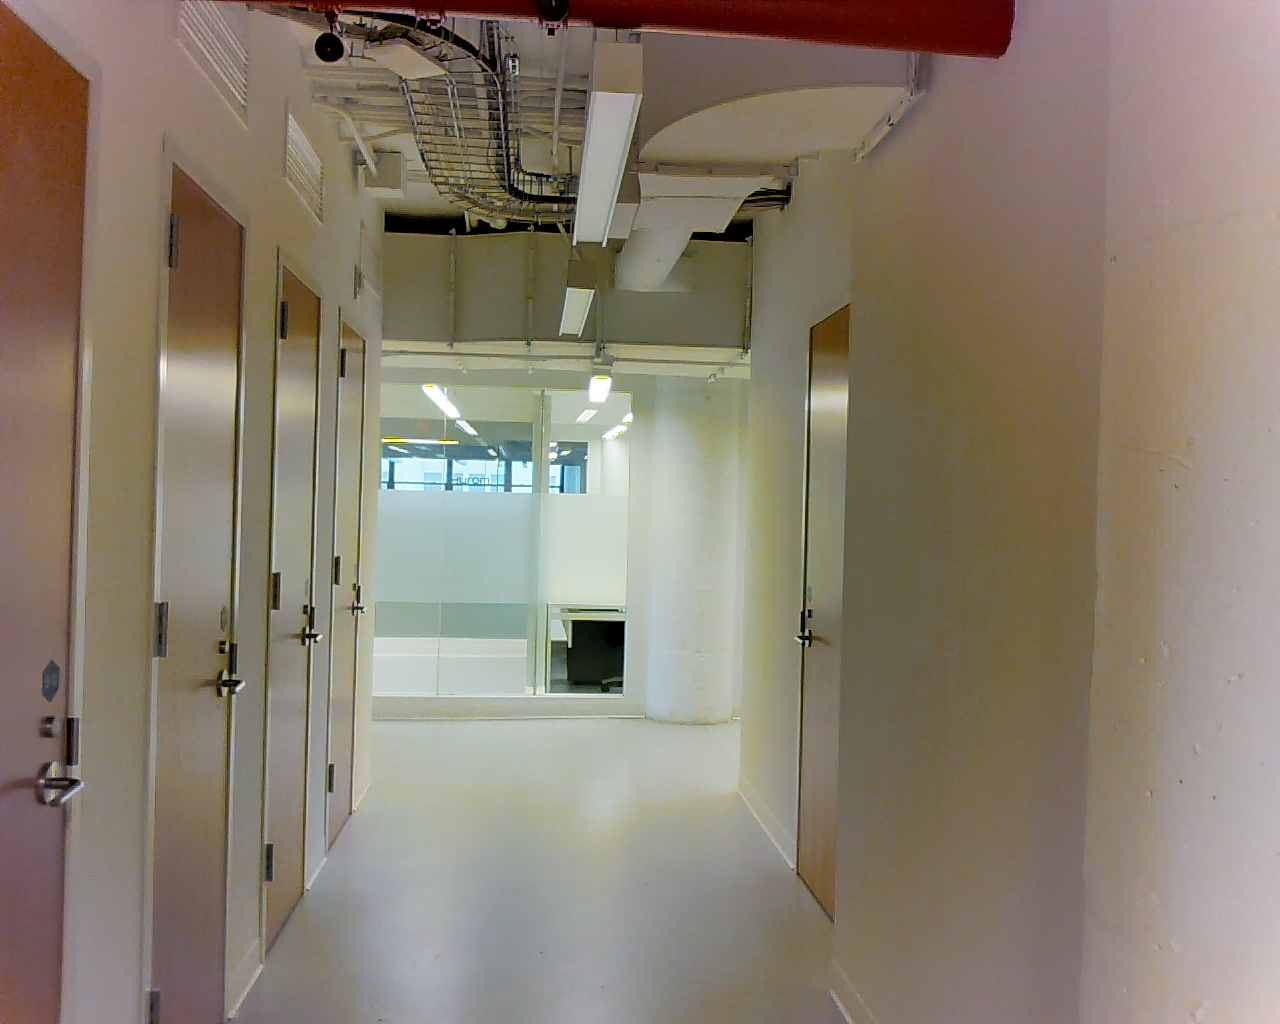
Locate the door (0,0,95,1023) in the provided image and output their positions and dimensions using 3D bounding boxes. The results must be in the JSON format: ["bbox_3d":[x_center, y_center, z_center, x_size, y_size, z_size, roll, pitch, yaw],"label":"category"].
[{"bbox_3d":[-1.000,0.320,1.640,0.030,2.220,0.620,1,0,-6],"label":"door"}]
